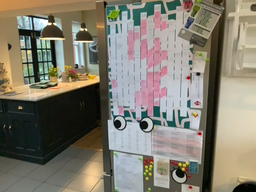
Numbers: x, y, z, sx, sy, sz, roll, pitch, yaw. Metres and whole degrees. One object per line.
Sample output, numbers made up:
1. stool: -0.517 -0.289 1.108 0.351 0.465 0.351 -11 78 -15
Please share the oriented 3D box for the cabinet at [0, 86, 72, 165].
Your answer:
1. cabinet: -1.500 0.380 3.210 0.990 0.910 0.670 4 13 19
